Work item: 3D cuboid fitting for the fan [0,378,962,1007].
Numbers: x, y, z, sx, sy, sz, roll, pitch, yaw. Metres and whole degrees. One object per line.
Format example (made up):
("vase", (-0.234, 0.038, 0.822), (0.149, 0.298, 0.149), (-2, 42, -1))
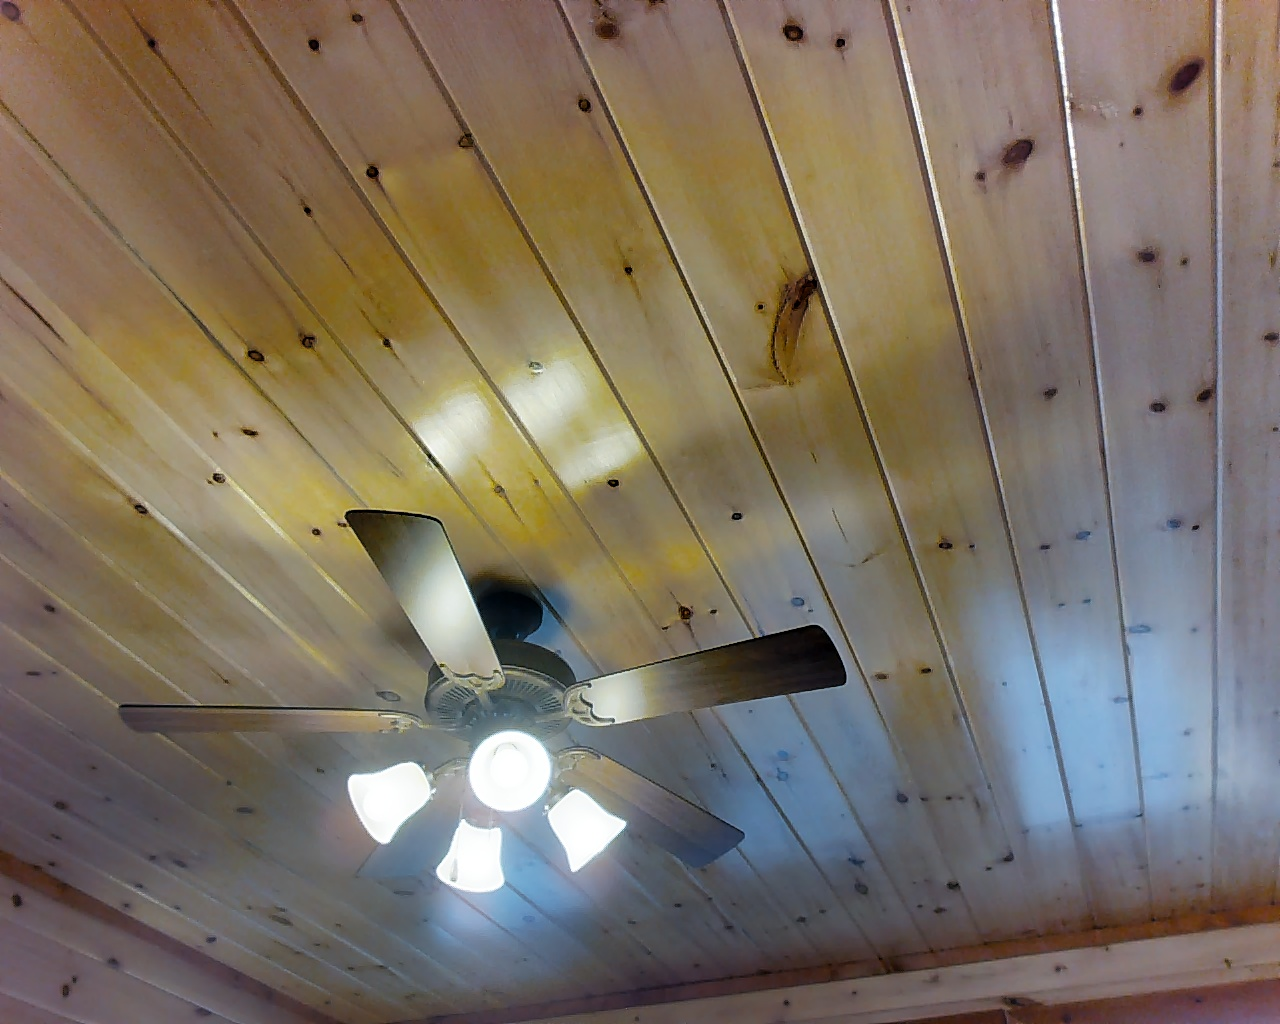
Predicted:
("fan", (-0.220, 0.340, 2.030), (1.350, 1.280, 0.390), (4, 54, 31))

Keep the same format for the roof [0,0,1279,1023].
("roof", (-0.320, 0.120, 2.050), (3.660, 4.780, 0.110), (-15, 46, 17))
